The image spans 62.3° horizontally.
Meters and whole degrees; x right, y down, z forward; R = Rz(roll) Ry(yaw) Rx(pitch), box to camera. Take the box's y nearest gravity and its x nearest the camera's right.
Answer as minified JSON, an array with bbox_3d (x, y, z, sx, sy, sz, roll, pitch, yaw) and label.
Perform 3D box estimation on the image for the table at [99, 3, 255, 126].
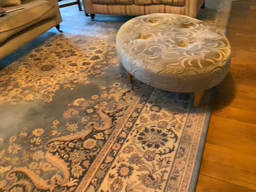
[{"bbox_3d":[0.270,-0.350,1.660,0.710,0.360,1.050,-16,40,-12],"label":"table"}]
